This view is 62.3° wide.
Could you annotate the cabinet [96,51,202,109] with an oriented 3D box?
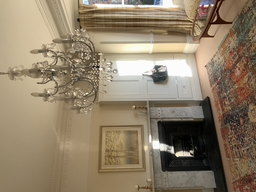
[{"bbox_3d":[0.440,-0.380,5.060,0.600,2.270,1.240,95,174,-66],"label":"cabinet"}]
